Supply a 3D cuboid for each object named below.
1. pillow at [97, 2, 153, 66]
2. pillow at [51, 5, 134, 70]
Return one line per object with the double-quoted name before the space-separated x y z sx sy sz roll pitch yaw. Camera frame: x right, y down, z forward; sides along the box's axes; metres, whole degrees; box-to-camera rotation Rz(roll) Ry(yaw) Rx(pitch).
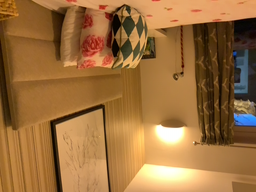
"pillow" 0.000 -0.410 1.530 0.260 0.370 0.410 0 -173 20
"pillow" -0.220 -0.400 1.650 0.320 0.370 0.690 0 -173 20
